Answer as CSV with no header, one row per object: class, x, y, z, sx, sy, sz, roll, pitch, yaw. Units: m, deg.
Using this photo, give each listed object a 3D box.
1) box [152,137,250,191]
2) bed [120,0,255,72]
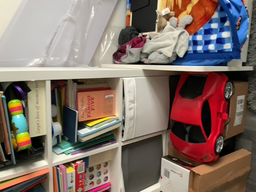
box,0.440,0.500,1.280,0.330,0.480,0.320,14,105,49
bed,0.350,-0.880,1.290,0.810,0.370,1.440,10,102,50
